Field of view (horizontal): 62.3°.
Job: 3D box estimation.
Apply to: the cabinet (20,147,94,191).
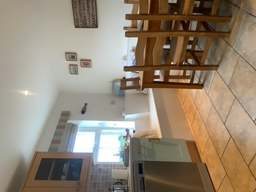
[{"bbox_3d":[-0.890,1.170,2.720,1.040,0.790,0.290,-93,6,-53],"label":"cabinet"}]
